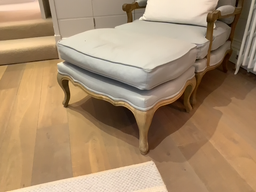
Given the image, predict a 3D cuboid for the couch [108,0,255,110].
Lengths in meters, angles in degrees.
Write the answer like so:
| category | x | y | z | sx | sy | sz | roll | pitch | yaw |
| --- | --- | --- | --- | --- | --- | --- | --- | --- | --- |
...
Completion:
| category | x | y | z | sx | sy | sz | roll | pitch | yaw |
| --- | --- | --- | --- | --- | --- | --- | --- | --- | --- |
| couch | 0.430 | -0.580 | 1.670 | 0.760 | 0.880 | 0.860 | 24 | 39 | 36 |
